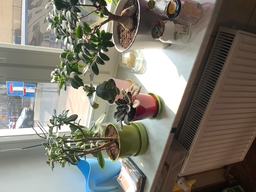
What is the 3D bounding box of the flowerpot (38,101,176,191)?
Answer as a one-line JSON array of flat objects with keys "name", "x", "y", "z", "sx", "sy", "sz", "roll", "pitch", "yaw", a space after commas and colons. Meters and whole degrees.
[{"name": "flowerpot", "x": -0.110, "y": 0.200, "z": 1.000, "sx": 0.330, "sy": 0.530, "sz": 0.240, "roll": 39, "pitch": 123, "yaw": 53}]
